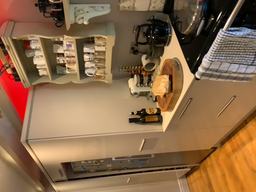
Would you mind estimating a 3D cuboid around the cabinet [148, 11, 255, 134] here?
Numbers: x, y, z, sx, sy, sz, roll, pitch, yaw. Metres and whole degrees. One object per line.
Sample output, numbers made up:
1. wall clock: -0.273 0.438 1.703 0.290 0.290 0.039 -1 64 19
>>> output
1. cabinet: 0.770 -0.190 1.960 0.820 0.910 0.710 102 163 -53
